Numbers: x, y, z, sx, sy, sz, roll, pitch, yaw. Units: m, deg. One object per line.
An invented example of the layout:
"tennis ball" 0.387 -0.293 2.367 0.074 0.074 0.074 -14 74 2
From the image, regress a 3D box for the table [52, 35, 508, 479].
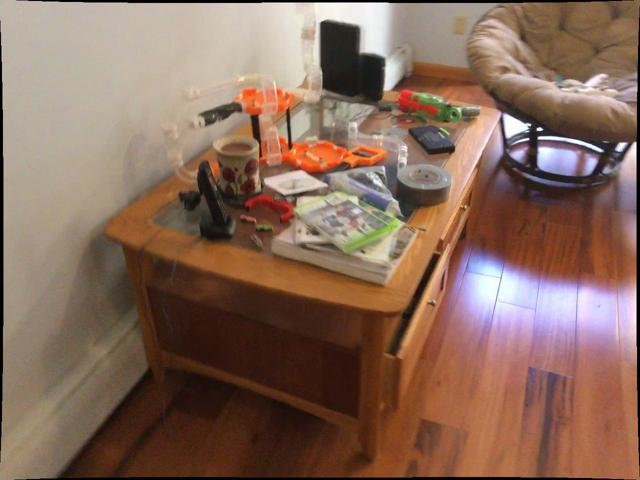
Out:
"table" 0.030 -0.110 1.790 0.839 0.640 1.250 12 36 17

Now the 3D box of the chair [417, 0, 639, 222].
"chair" 1.169 -0.761 2.710 1.109 0.760 1.110 12 36 17
